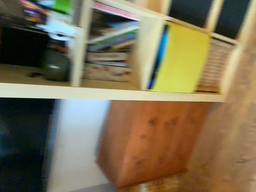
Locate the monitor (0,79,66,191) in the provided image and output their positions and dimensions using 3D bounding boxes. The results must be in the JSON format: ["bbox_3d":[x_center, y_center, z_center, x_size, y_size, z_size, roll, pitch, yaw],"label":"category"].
[{"bbox_3d":[-0.660,0.330,1.160,0.060,0.510,0.860,31,113,45],"label":"monitor"}]
